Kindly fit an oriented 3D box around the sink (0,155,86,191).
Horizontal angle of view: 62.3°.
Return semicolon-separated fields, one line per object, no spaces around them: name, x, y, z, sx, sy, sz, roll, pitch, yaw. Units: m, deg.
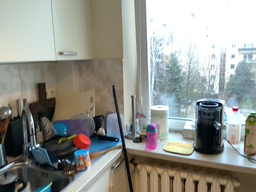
sink;-0.510;0.480;1.100;0.460;0.140;0.330;3;11;22
